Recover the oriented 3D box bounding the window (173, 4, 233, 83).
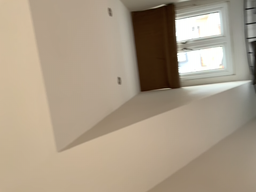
[{"bbox_3d":[1.060,-0.720,3.020,0.120,0.730,0.980,-38,-59,-74],"label":"window"}]
